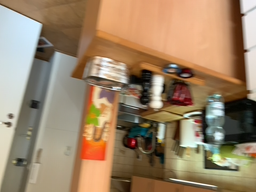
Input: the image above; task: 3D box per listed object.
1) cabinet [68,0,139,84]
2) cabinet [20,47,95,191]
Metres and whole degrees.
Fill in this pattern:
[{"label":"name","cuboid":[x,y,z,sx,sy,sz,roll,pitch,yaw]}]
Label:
[{"label":"cabinet","cuboid":[-0.120,-0.580,1.190,0.170,0.910,0.490,14,160,-24]},{"label":"cabinet","cuboid":[-0.910,0.430,2.770,0.550,2.040,0.420,14,160,-24]}]
